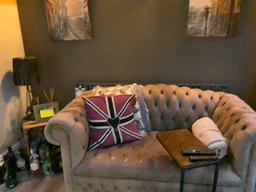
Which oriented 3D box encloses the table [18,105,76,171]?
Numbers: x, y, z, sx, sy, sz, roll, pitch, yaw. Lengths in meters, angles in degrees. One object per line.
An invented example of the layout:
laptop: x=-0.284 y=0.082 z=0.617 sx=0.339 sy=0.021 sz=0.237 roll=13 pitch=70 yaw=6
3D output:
table: x=-0.910 y=0.440 z=2.400 sx=0.480 sy=0.500 sz=0.430 roll=-11 pitch=21 yaw=-30

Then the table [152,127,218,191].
table: x=0.380 y=0.620 z=1.550 sx=0.260 sy=0.650 sz=0.390 roll=-6 pitch=18 yaw=-16
